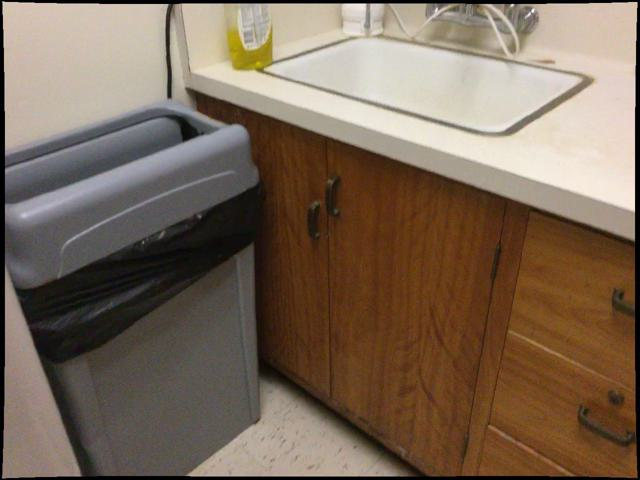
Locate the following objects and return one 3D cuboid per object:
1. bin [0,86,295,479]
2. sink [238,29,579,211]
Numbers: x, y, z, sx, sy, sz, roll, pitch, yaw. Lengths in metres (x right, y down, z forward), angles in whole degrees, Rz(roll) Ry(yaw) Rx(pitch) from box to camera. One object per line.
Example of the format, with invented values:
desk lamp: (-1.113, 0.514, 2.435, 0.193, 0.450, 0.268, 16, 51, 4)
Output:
bin: (-0.399, 0.180, 1.360, 0.320, 0.892, 0.630, 26, 40, 34)
sink: (0.190, -0.331, 1.380, 0.659, 0.170, 0.430, 26, 40, 34)
